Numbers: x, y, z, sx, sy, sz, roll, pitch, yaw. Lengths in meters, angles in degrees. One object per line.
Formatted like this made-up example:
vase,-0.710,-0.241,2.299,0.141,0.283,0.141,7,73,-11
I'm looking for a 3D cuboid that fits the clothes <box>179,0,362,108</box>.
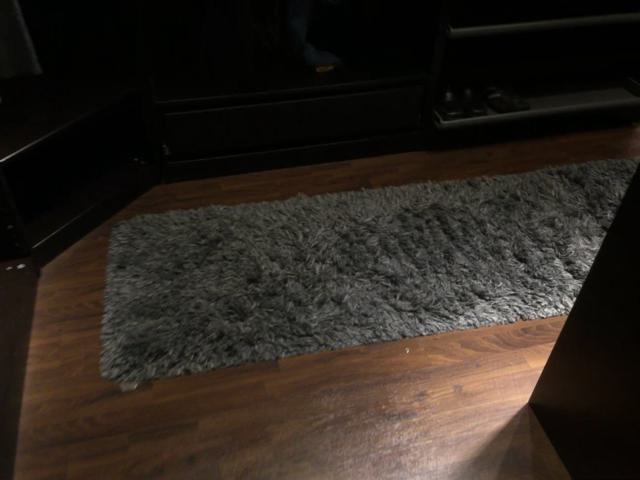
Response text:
clothes,-0.200,-0.870,1.920,0.540,0.590,0.520,-12,42,-10
